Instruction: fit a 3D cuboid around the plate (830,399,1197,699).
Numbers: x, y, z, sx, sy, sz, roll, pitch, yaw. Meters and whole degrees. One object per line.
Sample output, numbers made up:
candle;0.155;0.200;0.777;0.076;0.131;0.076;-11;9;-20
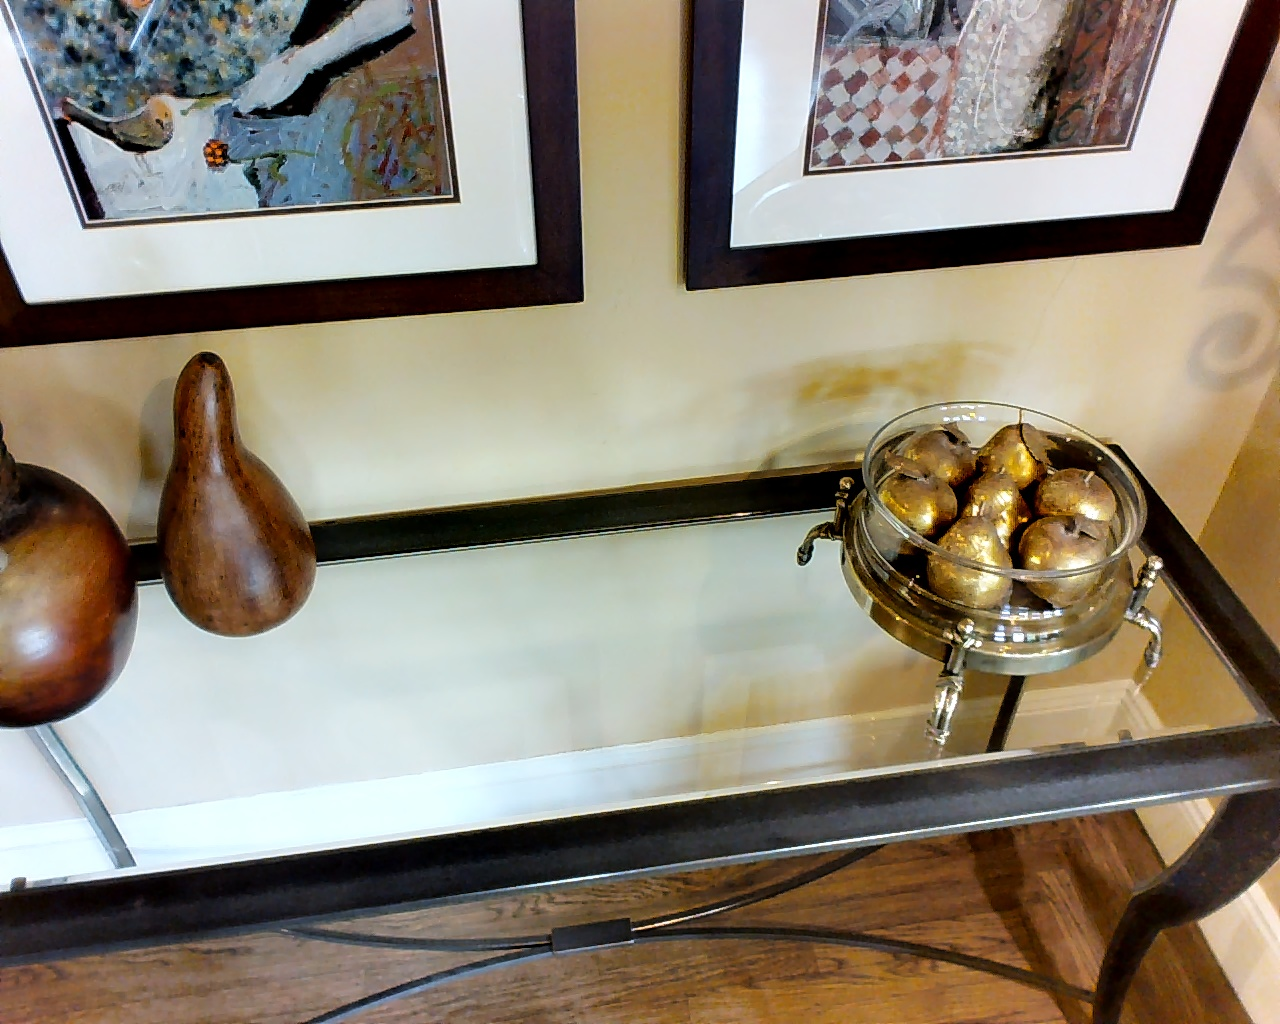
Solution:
plate;0.360;0.030;1.100;0.250;0.150;0.250;-6;42;-7
